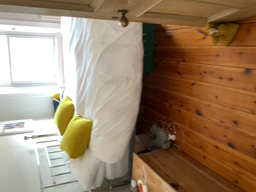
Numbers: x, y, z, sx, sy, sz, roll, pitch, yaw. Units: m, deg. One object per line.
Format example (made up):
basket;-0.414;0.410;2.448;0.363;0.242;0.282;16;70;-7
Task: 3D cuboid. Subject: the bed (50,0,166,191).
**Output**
bed;-0.430;-0.330;2.660;1.740;0.760;2.150;27;117;60

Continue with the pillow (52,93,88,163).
pillow;-0.660;0.320;2.360;0.570;0.260;0.590;24;114;60

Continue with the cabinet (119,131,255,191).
cabinet;0.380;0.750;1.550;1.080;0.470;0.560;27;117;60
